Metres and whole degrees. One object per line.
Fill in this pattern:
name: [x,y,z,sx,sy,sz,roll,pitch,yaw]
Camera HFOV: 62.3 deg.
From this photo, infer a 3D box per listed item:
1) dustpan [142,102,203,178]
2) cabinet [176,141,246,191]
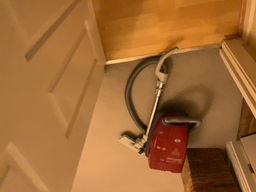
dustpan: [0.310,0.360,1.670,0.350,0.270,0.560,3,130,1]
cabinet: [0.720,0.950,1.930,0.430,0.570,0.930,-7,129,10]
